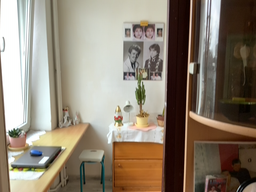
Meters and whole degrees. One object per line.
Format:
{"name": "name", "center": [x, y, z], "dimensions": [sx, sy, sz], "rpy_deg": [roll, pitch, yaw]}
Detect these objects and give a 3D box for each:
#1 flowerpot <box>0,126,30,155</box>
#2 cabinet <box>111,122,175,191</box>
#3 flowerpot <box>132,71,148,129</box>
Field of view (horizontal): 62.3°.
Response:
{"name": "flowerpot", "center": [-0.990, 0.380, 1.860], "dimensions": [0.170, 0.180, 0.220], "rpy_deg": [-1, 8, -9]}
{"name": "cabinet", "center": [0.160, 0.740, 2.630], "dimensions": [0.730, 0.780, 0.330], "rpy_deg": [0, 8, -2]}
{"name": "flowerpot", "center": [0.140, 0.040, 2.550], "dimensions": [0.160, 0.670, 0.210], "rpy_deg": [0, 8, -3]}
